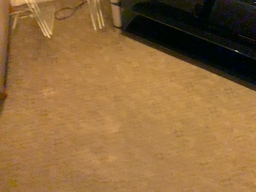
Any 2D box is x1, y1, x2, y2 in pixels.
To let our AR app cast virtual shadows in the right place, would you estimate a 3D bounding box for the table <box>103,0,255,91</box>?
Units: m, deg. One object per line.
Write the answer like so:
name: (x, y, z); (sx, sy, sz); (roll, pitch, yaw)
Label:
table: (0.520, -0.590, 1.300); (1.210, 0.530, 0.620); (26, 66, 15)
